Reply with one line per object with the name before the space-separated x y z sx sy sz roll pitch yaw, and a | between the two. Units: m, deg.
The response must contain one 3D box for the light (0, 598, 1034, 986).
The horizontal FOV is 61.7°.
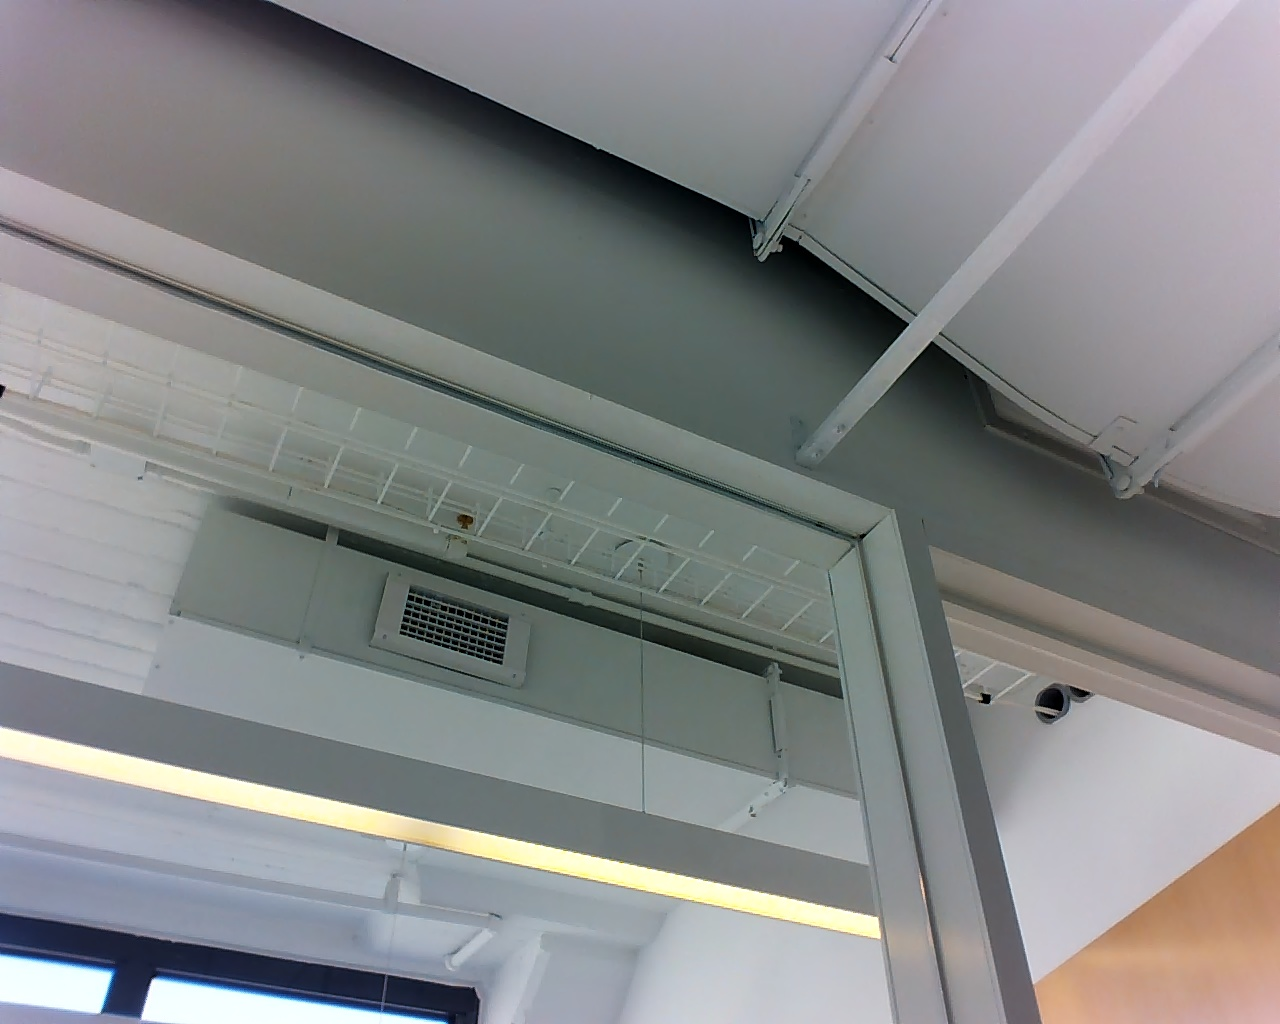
light | -0.340 0.500 1.880 2.499 0.200 0.190 20 -45 -21
